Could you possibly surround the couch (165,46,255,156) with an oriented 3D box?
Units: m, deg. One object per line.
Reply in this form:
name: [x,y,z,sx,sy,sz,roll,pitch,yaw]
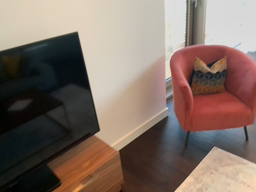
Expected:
couch: [0.840,0.030,2.130,0.820,0.810,0.680,-4,28,4]
